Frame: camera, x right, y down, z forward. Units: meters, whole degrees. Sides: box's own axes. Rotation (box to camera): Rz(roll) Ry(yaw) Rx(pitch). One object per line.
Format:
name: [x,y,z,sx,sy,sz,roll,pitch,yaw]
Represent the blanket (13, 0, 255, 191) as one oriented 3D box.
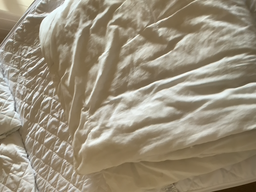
blanket: [-0.030,-0.130,0.880,1.060,0.130,1.130,-25,79,33]
